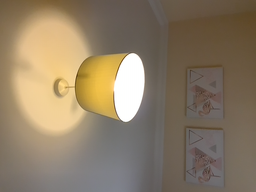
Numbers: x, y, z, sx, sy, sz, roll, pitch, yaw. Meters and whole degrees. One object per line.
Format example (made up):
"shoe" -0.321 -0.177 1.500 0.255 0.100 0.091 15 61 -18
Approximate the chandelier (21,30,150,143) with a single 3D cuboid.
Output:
"chandelier" -0.150 -0.050 0.990 0.360 0.380 0.340 -66 148 -44
